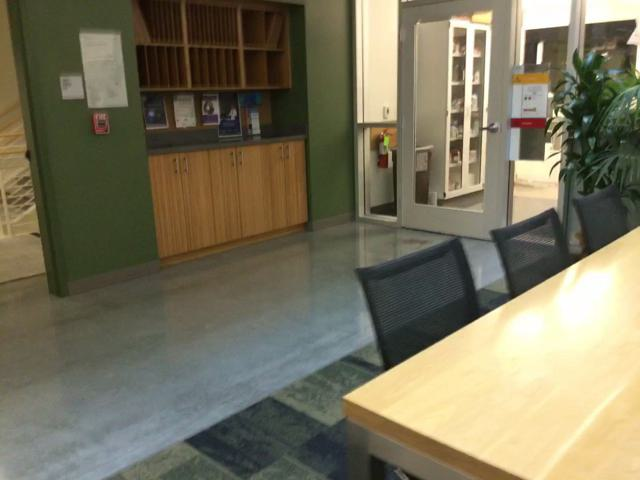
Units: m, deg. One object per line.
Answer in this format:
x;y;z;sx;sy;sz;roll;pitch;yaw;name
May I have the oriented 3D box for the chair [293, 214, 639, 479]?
0.420;0.490;1.510;0.640;0.960;0.640;-16;18;-41;chair
